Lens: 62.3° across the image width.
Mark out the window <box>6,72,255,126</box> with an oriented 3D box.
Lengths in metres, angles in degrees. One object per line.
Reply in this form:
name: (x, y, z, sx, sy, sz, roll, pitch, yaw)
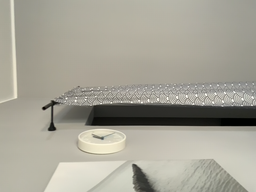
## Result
window: (0.570, -0.010, 1.560, 0.950, 2.360, 0.230, -131, 43, -82)
